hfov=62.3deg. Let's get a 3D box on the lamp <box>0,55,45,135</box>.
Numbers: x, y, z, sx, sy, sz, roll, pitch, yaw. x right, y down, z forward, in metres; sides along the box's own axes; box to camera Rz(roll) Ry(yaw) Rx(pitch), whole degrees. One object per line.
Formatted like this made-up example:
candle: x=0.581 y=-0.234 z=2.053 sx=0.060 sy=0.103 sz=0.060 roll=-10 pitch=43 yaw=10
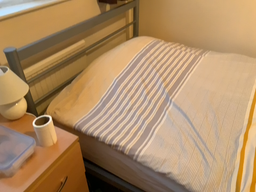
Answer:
lamp: x=-0.500 y=-0.010 z=0.870 sx=0.170 sy=0.230 sz=0.180 roll=19 pitch=41 yaw=27
